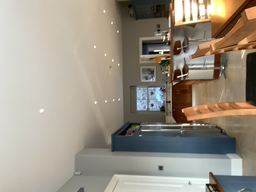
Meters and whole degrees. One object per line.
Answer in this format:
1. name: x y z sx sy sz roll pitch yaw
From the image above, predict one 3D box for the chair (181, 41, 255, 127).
1. chair: 1.090 -0.120 1.930 0.520 1.130 0.680 -41 -50 -79
